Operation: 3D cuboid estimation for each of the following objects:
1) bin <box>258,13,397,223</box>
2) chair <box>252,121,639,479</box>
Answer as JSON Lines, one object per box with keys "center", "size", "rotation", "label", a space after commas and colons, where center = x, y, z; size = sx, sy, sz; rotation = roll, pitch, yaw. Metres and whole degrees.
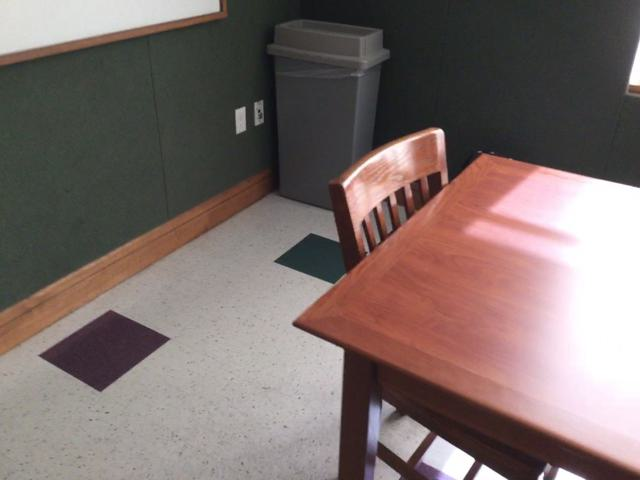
{"center": [0.030, -0.590, 2.770], "size": [0.520, 0.860, 0.330], "rotation": [17, 33, 28], "label": "bin"}
{"center": [0.280, 0.290, 1.270], "size": [0.560, 0.880, 0.600], "rotation": [17, 33, 28], "label": "chair"}
